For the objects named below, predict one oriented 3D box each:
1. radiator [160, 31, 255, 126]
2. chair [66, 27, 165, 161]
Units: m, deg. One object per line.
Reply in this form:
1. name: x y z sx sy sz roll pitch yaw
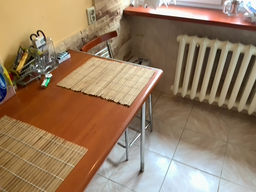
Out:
1. radiator: 0.760 -0.160 1.870 0.870 0.630 0.260 14 42 19
2. chair: -0.060 0.000 1.570 0.490 0.830 0.380 17 43 22
